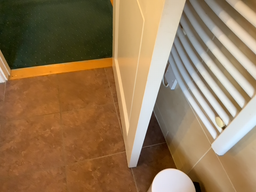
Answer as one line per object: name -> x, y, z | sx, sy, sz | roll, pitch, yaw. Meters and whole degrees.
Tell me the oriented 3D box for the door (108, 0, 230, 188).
door -> 0.040, -0.570, 0.480 | 0.090, 2.160, 0.970 | -3, 54, -8
